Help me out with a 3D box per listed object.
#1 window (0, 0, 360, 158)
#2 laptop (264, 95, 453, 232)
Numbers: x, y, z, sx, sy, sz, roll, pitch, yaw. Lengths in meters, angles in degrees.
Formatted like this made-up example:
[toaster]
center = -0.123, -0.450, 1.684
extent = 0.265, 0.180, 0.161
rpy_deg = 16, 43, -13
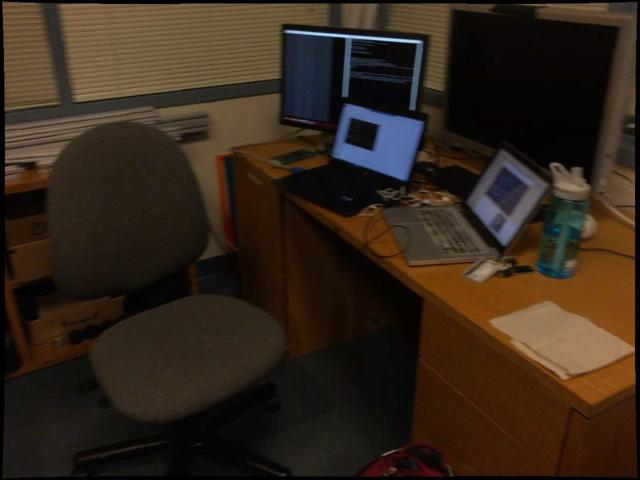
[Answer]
[window]
center = -0.958, -0.672, 2.180
extent = 2.515, 0.591, 0.170
rpy_deg = -15, 31, -25
[laptop]
center = 0.110, -0.271, 1.850
extent = 0.350, 0.240, 0.490
rpy_deg = -21, 34, -33
